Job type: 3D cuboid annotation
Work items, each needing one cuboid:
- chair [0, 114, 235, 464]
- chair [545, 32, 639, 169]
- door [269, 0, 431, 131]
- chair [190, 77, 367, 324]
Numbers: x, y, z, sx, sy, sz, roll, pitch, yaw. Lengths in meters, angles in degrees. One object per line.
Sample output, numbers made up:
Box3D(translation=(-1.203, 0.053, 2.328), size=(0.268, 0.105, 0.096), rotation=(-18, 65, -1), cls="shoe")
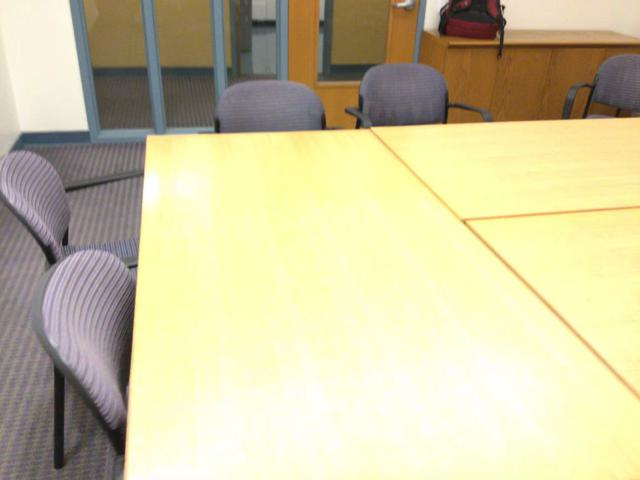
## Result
Box3D(translation=(-0.580, 0.110, 1.660), size=(0.570, 0.730, 0.600), rotation=(-6, 33, -11), cls="chair")
Box3D(translation=(1.590, -0.730, 2.990), size=(0.610, 0.470, 0.630), rotation=(17, 36, 23), cls="chair")
Box3D(translation=(0.200, -1.550, 3.800), size=(1.050, 1.630, 0.170), rotation=(-6, 33, -11), cls="door")
Box3D(translation=(-0.190, -0.180, 2.280), size=(0.550, 0.720, 0.620), rotation=(-6, 33, -11), cls="chair")
